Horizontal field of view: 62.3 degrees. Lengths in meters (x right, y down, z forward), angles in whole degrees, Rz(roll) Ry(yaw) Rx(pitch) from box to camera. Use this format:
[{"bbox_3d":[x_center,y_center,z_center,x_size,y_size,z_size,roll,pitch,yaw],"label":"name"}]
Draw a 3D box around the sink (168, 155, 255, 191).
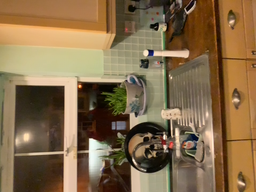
[{"bbox_3d":[0.460,0.610,1.260,0.490,0.250,0.410,157,112,-76],"label":"sink"}]
